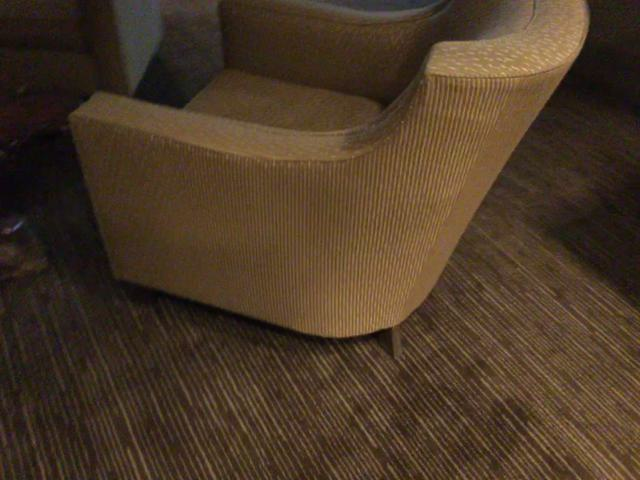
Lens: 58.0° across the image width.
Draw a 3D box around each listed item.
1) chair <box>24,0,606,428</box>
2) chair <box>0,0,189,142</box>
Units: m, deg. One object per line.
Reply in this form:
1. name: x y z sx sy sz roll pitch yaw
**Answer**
1. chair: 0.030 -0.280 1.520 0.980 0.880 0.890 17 41 9
2. chair: -1.090 -1.090 2.260 0.960 0.890 1.070 4 41 -5
